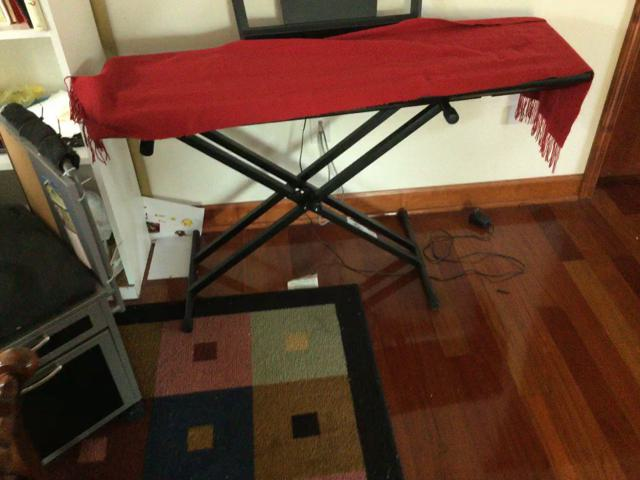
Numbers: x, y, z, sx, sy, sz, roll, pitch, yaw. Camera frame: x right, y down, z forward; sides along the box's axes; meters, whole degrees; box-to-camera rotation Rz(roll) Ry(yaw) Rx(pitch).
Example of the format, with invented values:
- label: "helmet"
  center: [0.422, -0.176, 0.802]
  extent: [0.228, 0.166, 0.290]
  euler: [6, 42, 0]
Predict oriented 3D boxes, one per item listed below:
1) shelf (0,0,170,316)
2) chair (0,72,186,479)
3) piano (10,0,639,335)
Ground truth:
- label: "shelf"
  center: [-0.850, -0.530, 1.420]
  extent: [0.600, 1.640, 0.390]
  euler: [-5, 40, -3]
- label: "chair"
  center: [-0.730, 0.130, 1.340]
  extent: [0.480, 0.760, 0.570]
  euler: [-29, 47, -28]
- label: "piano"
  center: [0.030, -0.260, 1.610]
  extent: [1.290, 0.820, 0.510]
  euler: [-5, 40, -3]
